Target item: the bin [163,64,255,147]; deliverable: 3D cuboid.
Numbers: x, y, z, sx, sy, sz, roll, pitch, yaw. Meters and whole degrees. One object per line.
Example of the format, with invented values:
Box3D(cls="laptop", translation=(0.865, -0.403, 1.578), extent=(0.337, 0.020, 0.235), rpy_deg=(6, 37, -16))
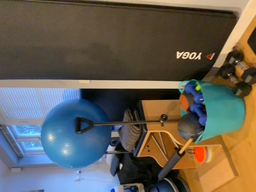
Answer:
Box3D(cls="bin", translation=(0.580, 0.070, 1.620), extent=(0.380, 0.440, 0.490), rpy_deg=(105, 161, -54))
